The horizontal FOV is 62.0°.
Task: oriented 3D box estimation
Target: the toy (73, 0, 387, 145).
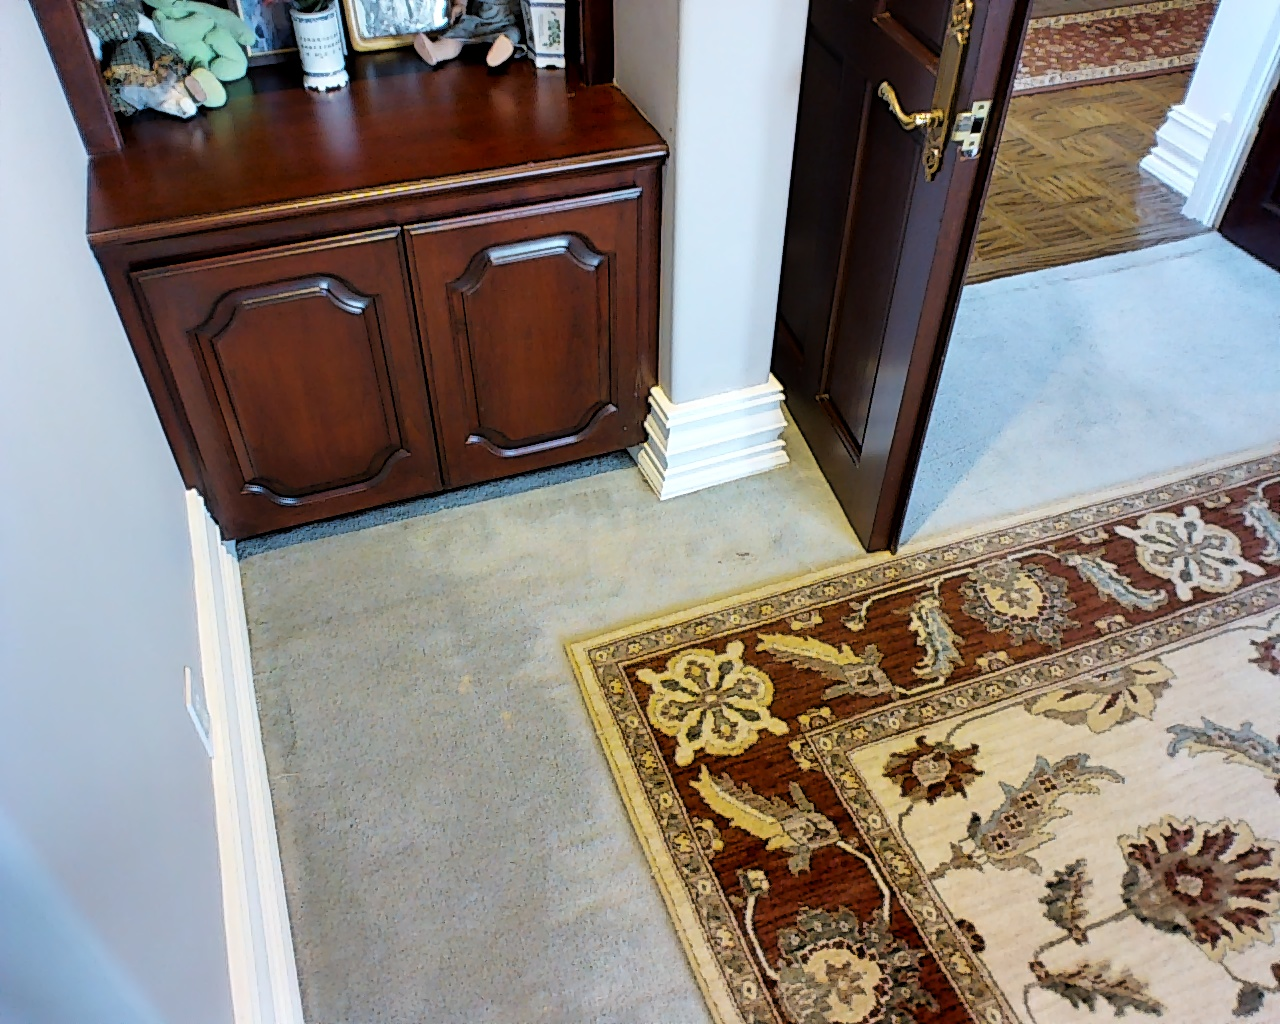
[{"bbox_3d":[-0.700,-0.840,1.820,0.440,0.260,0.280,-15,45,-17],"label":"toy"}]
